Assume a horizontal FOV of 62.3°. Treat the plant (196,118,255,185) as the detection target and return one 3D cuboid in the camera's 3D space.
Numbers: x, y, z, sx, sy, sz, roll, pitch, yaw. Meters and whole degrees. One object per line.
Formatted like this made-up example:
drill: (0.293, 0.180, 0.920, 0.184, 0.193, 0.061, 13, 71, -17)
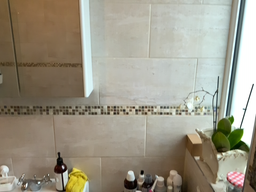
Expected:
plant: (0.450, 0.240, 0.940, 0.220, 0.230, 0.170, 1, 15, 0)
